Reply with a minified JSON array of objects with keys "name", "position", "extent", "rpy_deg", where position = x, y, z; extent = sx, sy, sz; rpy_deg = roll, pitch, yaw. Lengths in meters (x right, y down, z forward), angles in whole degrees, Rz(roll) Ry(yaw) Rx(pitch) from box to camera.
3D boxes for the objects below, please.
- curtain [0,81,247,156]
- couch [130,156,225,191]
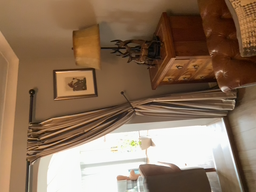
[{"name":"curtain","position":[-0.030,0.200,2.210],"extent":[0.240,2.470,0.560],"rpy_deg":[109,156,-66]},{"name":"couch","position":[0.610,1.360,2.820],"extent":[0.980,0.930,0.860],"rpy_deg":[108,157,-64]}]
